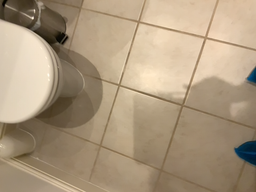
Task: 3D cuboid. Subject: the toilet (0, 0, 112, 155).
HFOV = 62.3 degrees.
[{"bbox_3d":[-0.550,-0.140,0.820,0.680,0.780,0.410,18,94,13],"label":"toilet"}]
